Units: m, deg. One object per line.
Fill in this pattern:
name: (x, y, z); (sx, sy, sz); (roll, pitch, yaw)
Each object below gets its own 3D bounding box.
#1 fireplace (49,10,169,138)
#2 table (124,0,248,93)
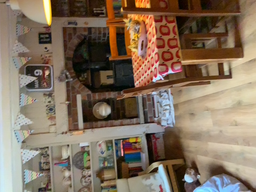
fireplace: (-0.380, -0.410, 3.910); (0.720, 1.840, 2.110); (139, 126, -77)
table: (0.440, -1.000, 2.250); (0.950, 0.780, 1.750); (139, 126, -77)
